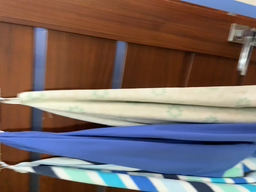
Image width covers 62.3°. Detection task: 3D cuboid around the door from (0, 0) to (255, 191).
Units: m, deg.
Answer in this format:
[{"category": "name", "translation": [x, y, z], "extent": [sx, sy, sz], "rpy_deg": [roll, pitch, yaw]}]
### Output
[{"category": "door", "translation": [0.400, 0.180, 0.820], "extent": [0.110, 2.100, 0.820], "rpy_deg": [-126, 43, -66]}]
